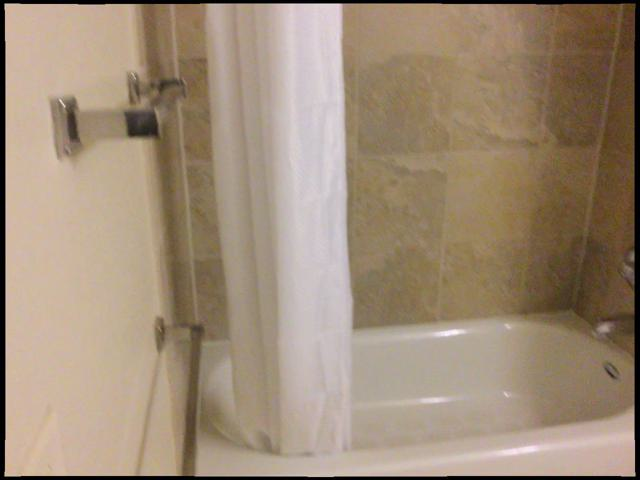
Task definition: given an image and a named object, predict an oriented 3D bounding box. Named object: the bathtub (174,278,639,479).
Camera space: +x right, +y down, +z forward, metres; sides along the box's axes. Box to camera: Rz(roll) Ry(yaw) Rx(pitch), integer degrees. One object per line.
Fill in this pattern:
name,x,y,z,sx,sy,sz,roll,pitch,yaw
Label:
bathtub,0.339,0.611,1.920,1.507,0.561,0.770,-5,22,-9
